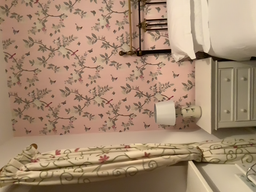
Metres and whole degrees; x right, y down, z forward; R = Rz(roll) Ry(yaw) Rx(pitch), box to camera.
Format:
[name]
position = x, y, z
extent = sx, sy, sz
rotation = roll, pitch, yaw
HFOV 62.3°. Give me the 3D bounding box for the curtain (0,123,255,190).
[curtain]
position = 0.260, 0.360, 1.440
extent = 0.590, 2.030, 0.100
rotation = -96, 3, -80
